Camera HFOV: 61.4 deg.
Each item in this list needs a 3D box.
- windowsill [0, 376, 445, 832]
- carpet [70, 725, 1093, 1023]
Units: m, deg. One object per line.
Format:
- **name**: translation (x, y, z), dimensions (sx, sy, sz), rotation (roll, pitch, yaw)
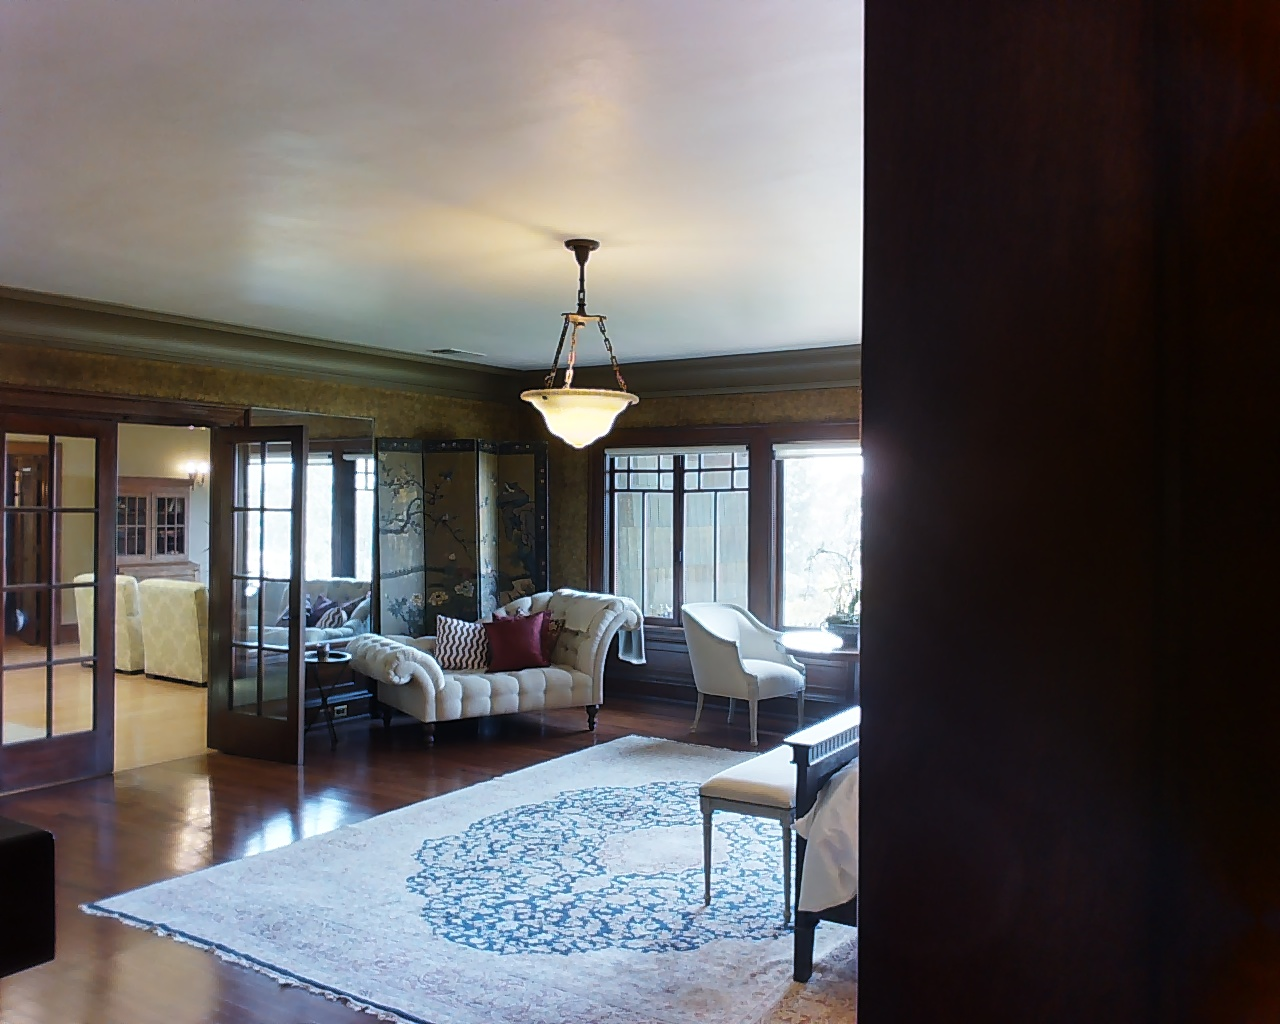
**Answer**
- **windowsill**: translation (-2.620, 0.470, 6.840), dimensions (0.940, 2.260, 2.950), rotation (0, -1, 33)
- **carpet**: translation (0.150, 1.540, 5.130), dimensions (3.050, 0.080, 4.090), rotation (0, -1, 33)
